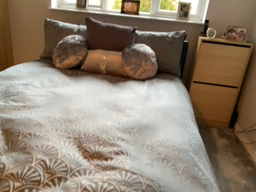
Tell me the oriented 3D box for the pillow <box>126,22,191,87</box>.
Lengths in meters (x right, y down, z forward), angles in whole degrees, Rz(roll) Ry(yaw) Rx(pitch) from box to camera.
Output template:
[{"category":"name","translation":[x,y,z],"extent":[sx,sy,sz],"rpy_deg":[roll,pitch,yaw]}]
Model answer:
[{"category":"pillow","translation":[0.290,-0.400,2.050],"extent":[0.510,0.470,0.220],"rpy_deg":[-13,20,8]}]

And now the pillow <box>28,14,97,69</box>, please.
[{"category":"pillow","translation":[-0.630,-0.540,2.110],"extent":[0.540,0.460,0.190],"rpy_deg":[-4,22,6]}]
